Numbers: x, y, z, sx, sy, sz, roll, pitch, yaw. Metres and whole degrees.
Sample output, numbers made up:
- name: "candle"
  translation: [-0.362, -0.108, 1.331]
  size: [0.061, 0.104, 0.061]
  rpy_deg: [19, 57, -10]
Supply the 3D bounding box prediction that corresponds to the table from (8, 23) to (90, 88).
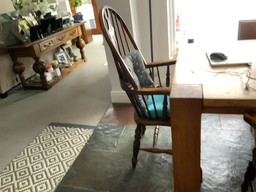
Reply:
- name: "table"
  translation: [-1.280, -0.790, 3.800]
  size: [0.470, 0.720, 1.450]
  rpy_deg: [1, 28, 18]
